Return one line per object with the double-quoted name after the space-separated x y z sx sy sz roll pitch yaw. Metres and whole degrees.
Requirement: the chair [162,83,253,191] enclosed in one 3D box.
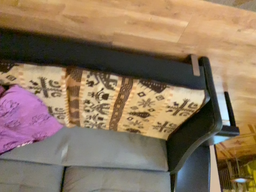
0.700 0.480 2.120 0.470 0.970 0.630 8 150 -10 "chair"
